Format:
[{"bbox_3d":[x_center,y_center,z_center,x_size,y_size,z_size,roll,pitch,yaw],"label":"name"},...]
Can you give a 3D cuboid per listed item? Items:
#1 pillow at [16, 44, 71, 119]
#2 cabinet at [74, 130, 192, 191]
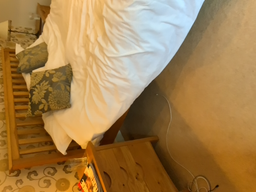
[{"bbox_3d":[-0.620,-0.110,1.650,0.380,0.150,0.420,71,-166,-51],"label":"pillow"},{"bbox_3d":[0.000,0.630,1.600,0.490,0.630,0.470,60,140,38],"label":"cabinet"}]
